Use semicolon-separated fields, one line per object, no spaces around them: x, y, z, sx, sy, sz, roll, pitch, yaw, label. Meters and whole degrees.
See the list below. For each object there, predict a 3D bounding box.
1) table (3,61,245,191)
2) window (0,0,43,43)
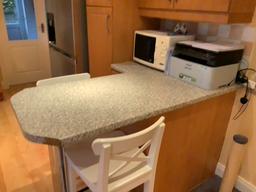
0.050;0.340;1.610;1.520;0.910;0.670;-14;28;-33;table
-1.800;-1.460;3.560;0.590;1.090;0.040;-14;28;-32;window
